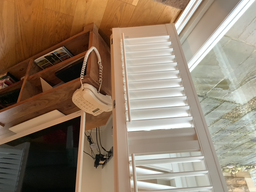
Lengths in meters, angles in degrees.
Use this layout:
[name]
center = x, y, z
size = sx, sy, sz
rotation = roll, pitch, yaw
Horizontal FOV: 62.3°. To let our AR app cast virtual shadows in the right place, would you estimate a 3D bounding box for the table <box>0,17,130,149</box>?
[table]
center = -0.540, -0.030, 1.460
size = 0.990, 0.450, 0.420
rotation = -20, 142, 19
